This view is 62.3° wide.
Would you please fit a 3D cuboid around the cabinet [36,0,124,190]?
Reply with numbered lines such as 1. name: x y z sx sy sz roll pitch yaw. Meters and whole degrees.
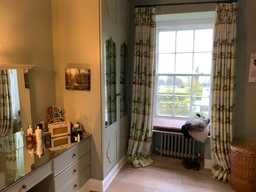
1. cabinet: -0.560 -0.260 2.990 0.680 2.630 1.120 2 9 17
